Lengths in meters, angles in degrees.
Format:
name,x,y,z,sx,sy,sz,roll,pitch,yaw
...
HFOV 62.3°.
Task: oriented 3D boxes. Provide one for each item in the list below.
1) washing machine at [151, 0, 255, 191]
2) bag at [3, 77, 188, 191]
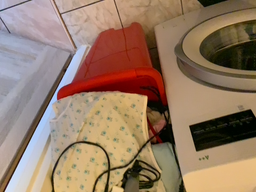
name,x,y,z,sx,sy,sz,roll,pitch,yaw
washing machine,0.450,-0.030,0.790,0.600,0.850,0.480,-11,127,11
bag,-0.020,0.240,0.640,0.360,0.240,0.470,-12,126,11
